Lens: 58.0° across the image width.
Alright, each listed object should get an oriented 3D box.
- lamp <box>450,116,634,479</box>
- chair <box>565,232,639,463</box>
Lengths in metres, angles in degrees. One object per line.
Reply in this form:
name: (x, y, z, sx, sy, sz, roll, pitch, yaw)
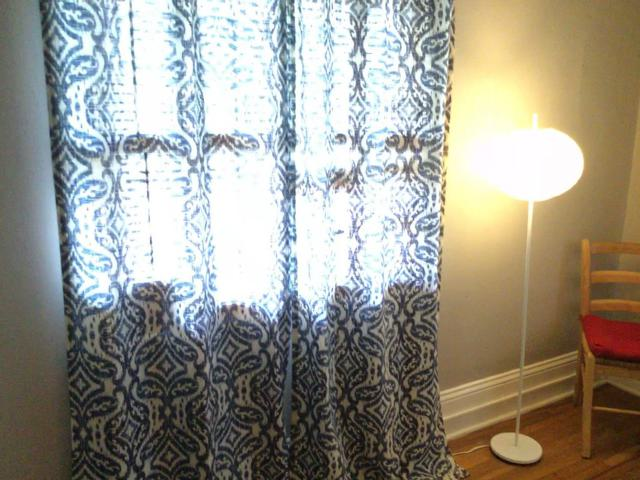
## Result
lamp: (0.890, 0.220, 2.410, 0.470, 1.430, 0.400, -8, 15, -28)
chair: (1.420, 0.450, 2.600, 0.460, 0.840, 0.620, 3, 14, 16)
